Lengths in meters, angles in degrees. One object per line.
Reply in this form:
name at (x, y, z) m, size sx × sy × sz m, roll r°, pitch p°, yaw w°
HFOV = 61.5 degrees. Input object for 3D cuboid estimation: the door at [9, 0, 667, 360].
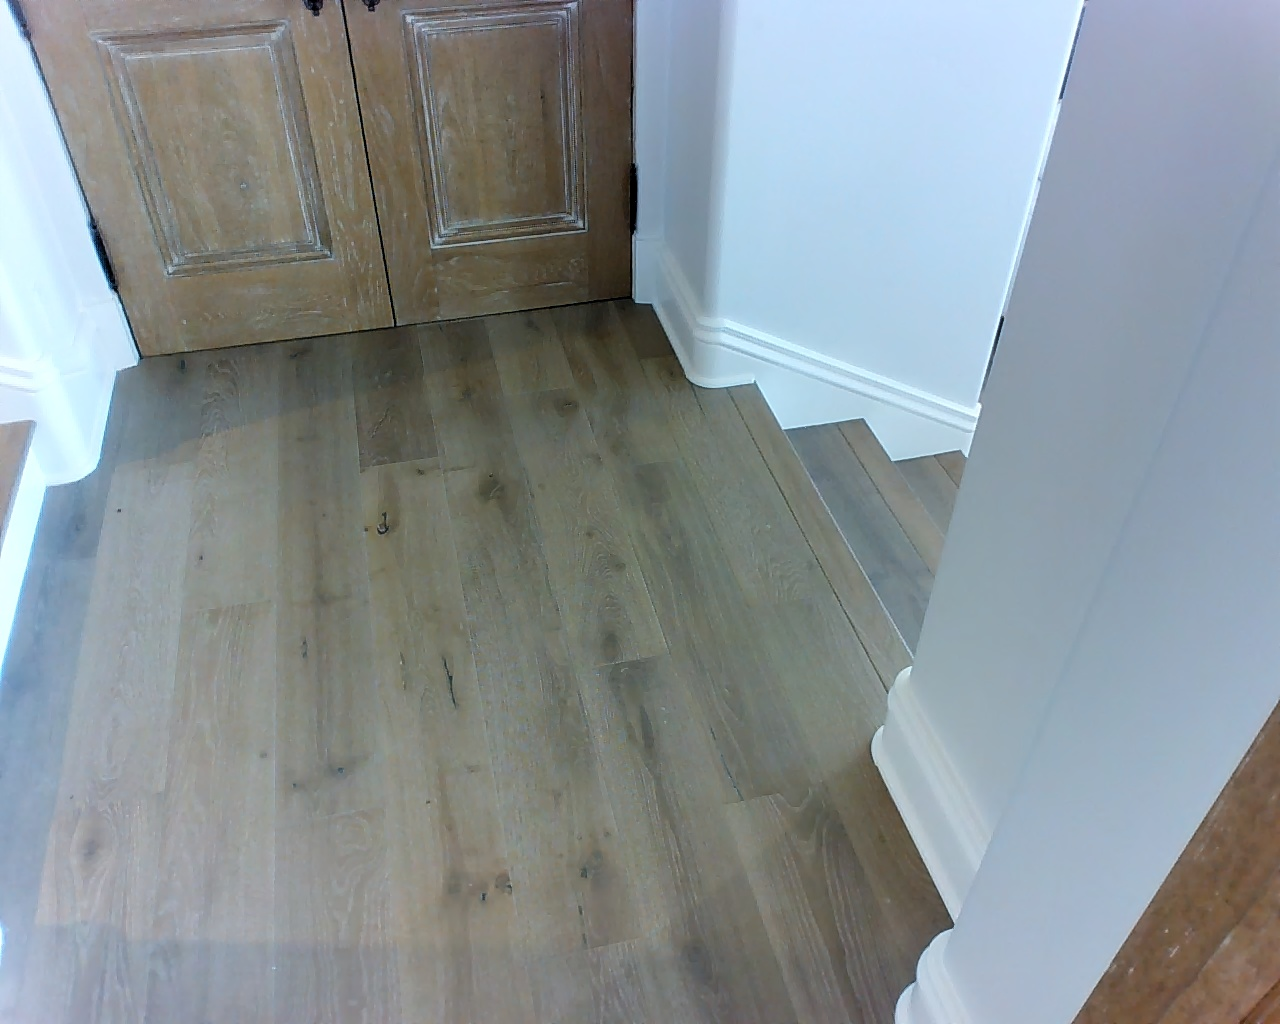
door at (-0.640, -1.470, 2.220) m, size 1.450 × 2.510 × 0.070 m, roll -9°, pitch 43°, yaw -11°
